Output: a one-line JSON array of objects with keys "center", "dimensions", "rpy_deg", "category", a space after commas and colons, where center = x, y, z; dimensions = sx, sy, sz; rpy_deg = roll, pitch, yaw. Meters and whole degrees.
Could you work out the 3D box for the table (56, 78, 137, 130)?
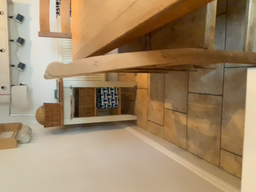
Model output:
[{"center": [-0.400, 0.050, 2.540], "dimensions": [0.610, 0.830, 0.520], "rpy_deg": [-170, 79, -67], "category": "table"}]
